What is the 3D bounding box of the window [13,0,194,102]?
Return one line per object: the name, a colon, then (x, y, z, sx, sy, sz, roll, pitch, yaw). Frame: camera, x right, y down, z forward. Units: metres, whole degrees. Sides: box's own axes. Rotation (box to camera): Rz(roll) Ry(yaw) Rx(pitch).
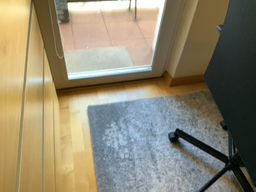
window: (-0.050, -0.890, 0.700, 0.910, 2.500, 0.140, -7, 50, -12)
